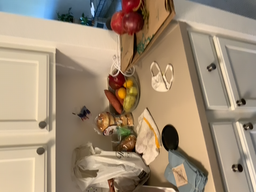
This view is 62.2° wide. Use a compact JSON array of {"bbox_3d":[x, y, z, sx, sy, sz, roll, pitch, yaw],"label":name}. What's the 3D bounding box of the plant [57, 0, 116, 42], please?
[{"bbox_3d":[-0.890,-1.560,4.440,0.550,1.100,0.500,145,123,-61],"label":"plant"}]
